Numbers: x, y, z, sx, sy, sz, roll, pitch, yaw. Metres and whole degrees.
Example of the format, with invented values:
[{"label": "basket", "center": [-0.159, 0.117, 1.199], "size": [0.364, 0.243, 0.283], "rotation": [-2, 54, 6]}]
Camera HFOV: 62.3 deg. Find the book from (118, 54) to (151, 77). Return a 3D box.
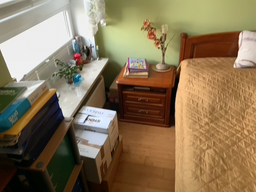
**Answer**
[{"label": "book", "center": [0.080, -0.320, 2.160], "size": [0.270, 0.070, 0.370], "rotation": [5, 35, 11]}]
